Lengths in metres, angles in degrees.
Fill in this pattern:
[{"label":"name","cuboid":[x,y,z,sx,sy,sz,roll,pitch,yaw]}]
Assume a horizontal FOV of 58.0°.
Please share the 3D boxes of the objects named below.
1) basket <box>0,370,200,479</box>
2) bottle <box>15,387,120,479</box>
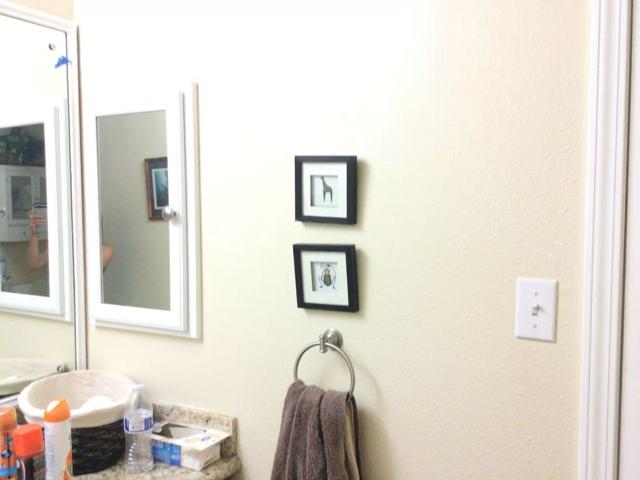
[{"label":"basket","cuboid":[-0.560,0.480,1.460,0.390,0.200,0.310,-1,1,31]},{"label":"bottle","cuboid":[-0.560,0.460,1.280,0.220,0.220,0.100,-1,1,31]}]
